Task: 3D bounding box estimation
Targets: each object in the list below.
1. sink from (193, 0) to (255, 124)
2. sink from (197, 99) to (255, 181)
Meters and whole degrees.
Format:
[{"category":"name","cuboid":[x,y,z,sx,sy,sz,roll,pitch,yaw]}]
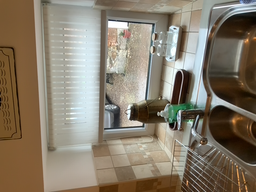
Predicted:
[{"category":"sink","cuboid":[0.500,-0.140,0.780,0.470,0.210,0.410,-136,48,-66]},{"category":"sink","cuboid":[0.460,0.150,0.840,0.350,0.160,0.180,-136,48,-66]}]
